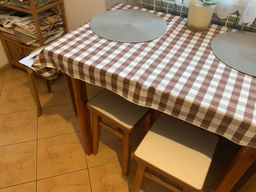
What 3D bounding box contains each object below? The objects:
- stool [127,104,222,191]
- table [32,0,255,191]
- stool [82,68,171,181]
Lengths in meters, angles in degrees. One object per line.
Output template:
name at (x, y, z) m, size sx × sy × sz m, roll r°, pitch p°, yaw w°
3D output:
stool at (0.210, 0.370, 1.080) m, size 0.290 × 0.490 × 0.330 m, roll 24°, pitch 47°, yaw 20°
table at (0.220, 0.050, 1.210) m, size 1.020 × 0.790 × 0.740 m, roll 21°, pitch 46°, yaw 18°
stool at (-0.010, 0.170, 1.280) m, size 0.310 × 0.490 × 0.360 m, roll 29°, pitch 49°, yaw 25°
